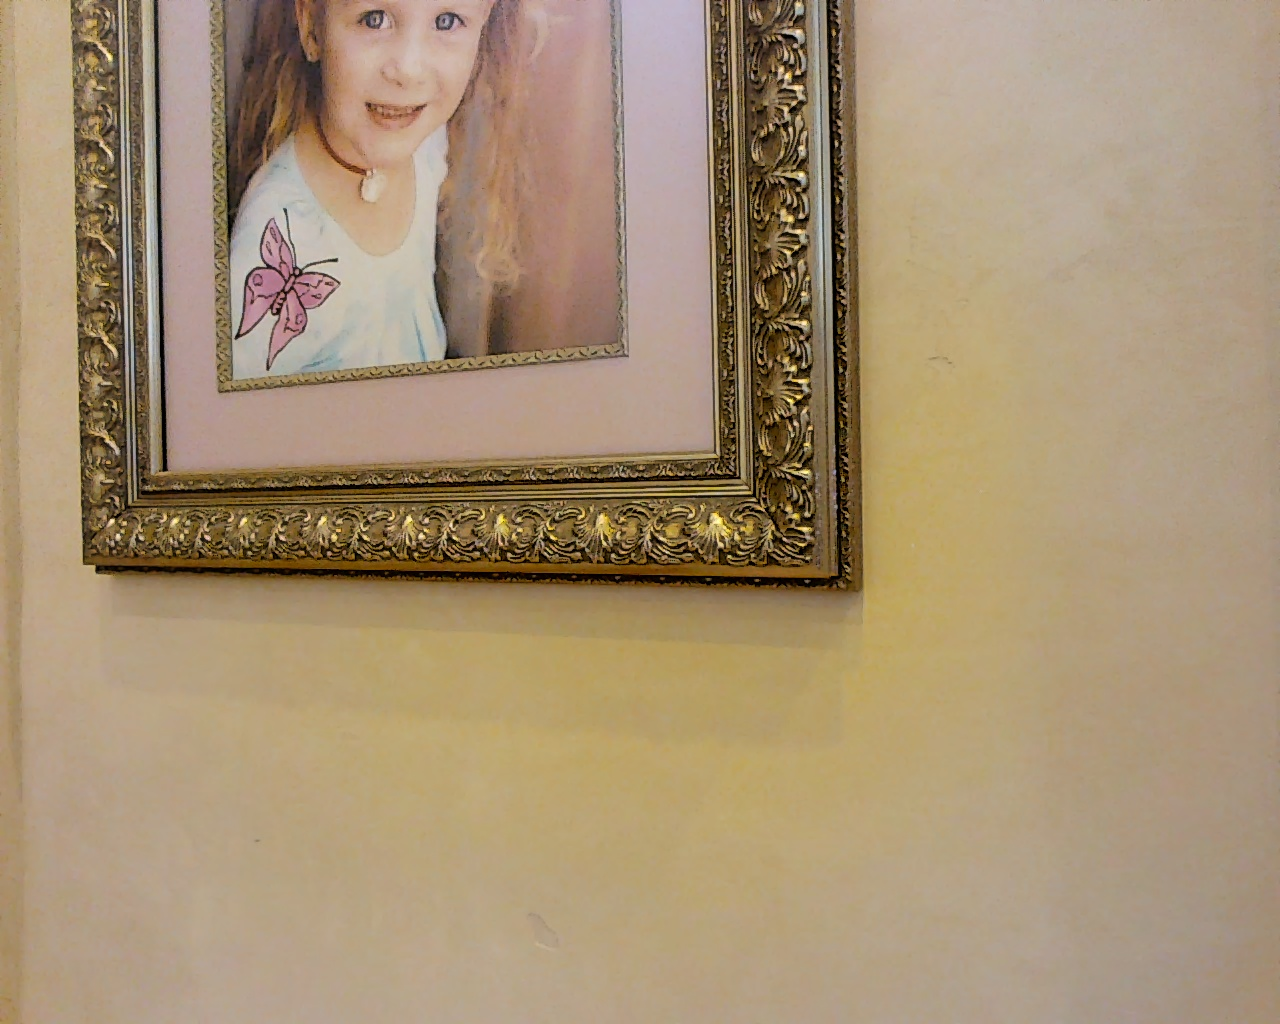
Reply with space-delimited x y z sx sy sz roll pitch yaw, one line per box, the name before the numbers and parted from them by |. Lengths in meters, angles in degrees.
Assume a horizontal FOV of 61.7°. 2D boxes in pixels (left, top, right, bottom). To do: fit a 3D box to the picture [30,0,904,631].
picture | -0.200 -0.380 0.850 0.790 0.910 0.070 -1 0 27
